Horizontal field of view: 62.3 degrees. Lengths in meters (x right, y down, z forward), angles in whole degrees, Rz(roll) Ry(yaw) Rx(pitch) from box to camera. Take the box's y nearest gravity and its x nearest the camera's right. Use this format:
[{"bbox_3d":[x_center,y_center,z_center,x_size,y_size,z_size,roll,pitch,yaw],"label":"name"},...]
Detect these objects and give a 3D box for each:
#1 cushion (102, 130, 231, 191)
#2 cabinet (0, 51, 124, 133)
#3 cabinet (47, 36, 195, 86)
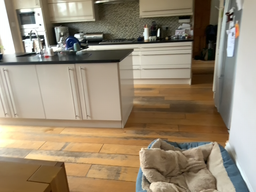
[{"bbox_3d":[0.290,0.620,1.590,0.800,0.200,1.010,2,20,12],"label":"cushion"},{"bbox_3d":[-1.090,-0.080,2.800,1.990,0.910,0.450,1,20,11],"label":"cabinet"},{"bbox_3d":[-0.170,-0.770,4.630,3.010,0.900,0.640,2,20,12],"label":"cabinet"}]
